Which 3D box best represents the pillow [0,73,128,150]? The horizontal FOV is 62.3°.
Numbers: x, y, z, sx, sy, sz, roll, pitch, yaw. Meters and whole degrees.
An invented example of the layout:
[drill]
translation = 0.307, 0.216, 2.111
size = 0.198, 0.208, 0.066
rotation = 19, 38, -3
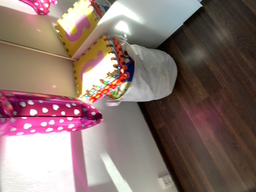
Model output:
[pillow]
translation = -0.360, 0.080, 0.970
size = 0.190, 0.790, 0.230
rotation = -39, 62, 30
